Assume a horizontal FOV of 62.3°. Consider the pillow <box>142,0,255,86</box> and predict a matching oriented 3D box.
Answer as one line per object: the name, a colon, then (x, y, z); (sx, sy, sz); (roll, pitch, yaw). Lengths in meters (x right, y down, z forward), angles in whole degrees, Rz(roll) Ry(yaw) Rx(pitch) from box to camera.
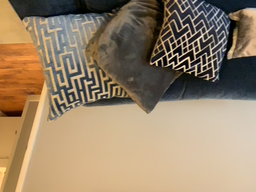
pillow: (0.350, -0.290, 1.080); (0.460, 0.310, 0.200); (23, 114, -23)
